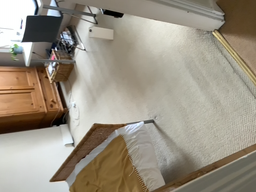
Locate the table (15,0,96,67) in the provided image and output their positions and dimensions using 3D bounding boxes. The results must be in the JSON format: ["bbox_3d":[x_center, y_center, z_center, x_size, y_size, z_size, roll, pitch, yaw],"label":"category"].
[{"bbox_3d":[-1.080,-0.990,3.040,1.010,0.740,0.610,-49,56,41],"label":"table"}]
